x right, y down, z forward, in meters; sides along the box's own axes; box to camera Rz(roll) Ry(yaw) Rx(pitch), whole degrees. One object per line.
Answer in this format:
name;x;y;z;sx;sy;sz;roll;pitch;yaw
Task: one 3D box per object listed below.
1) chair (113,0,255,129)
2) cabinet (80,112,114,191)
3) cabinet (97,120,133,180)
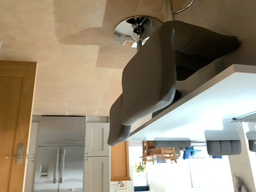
chair;0.220;-0.340;1.130;0.470;0.940;0.430;6;160;-22
cabinet;-0.680;1.510;4.570;0.640;2.260;0.480;3;161;-14
cabinet;-0.400;1.490;5.790;0.730;1.420;1.080;3;160;-15
